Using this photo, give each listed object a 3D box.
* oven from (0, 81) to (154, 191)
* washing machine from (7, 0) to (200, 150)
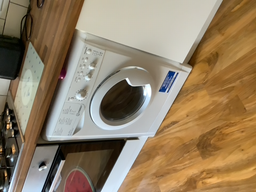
[{"bbox_3d":[-0.430,0.370,1.610,0.580,0.920,0.640,46,118,41],"label":"oven"},{"bbox_3d":[-0.160,-0.130,1.380,0.620,0.920,0.600,46,118,41],"label":"washing machine"}]
